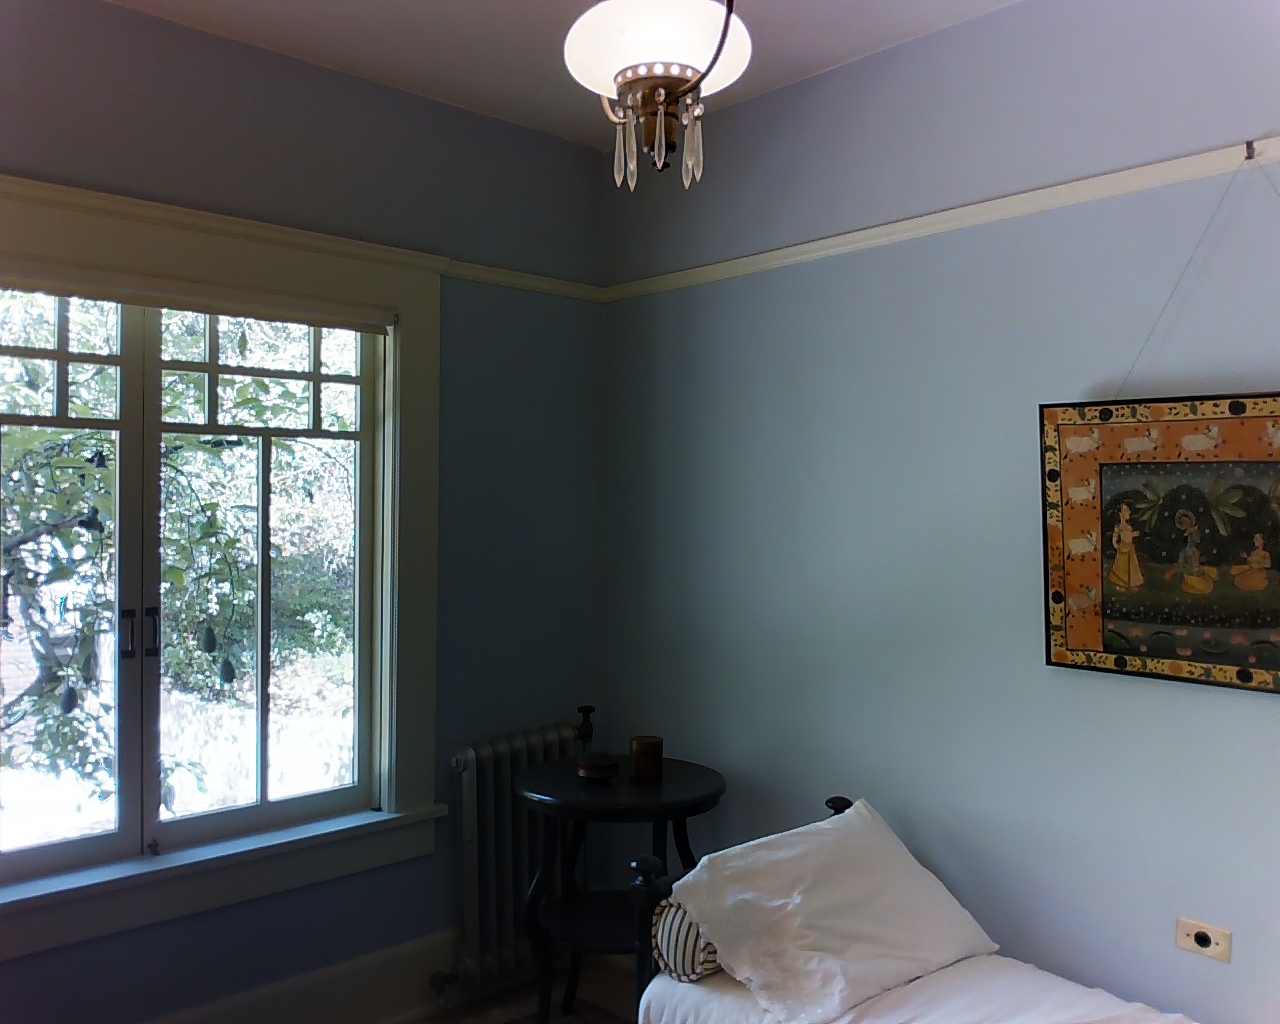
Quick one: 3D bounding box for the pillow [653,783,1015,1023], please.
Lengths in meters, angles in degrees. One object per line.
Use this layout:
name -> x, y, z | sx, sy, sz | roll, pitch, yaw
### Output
pillow -> 0.460, 0.860, 2.450 | 0.780, 0.270, 0.430 | 0, 1, -44

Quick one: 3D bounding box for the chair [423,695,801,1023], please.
chair -> -0.090, 1.070, 3.180 | 0.860, 0.860, 0.710 | 1, 1, 44

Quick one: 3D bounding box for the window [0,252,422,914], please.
window -> -1.240, 0.160, 2.750 | 1.450, 1.490, 0.200 | 0, 1, -44
